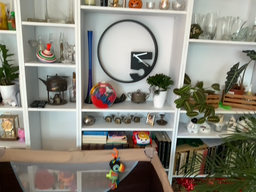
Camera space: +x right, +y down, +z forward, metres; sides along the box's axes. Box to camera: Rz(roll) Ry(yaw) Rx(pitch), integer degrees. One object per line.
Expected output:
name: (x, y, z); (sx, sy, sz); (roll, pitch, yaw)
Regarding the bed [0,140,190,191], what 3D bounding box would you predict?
bed: (-0.380, 0.860, 1.510); (1.400, 0.790, 0.820); (1, 15, -7)
